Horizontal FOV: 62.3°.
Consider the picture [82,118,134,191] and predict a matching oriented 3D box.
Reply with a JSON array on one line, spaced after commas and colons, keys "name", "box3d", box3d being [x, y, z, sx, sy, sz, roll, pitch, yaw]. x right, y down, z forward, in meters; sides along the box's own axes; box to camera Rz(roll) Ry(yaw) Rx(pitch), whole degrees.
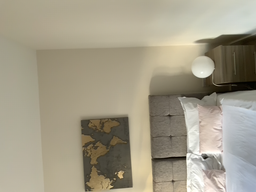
[{"name": "picture", "box3d": [-0.250, 0.760, 2.670, 0.040, 0.600, 0.920, -178, 86, -87]}]
